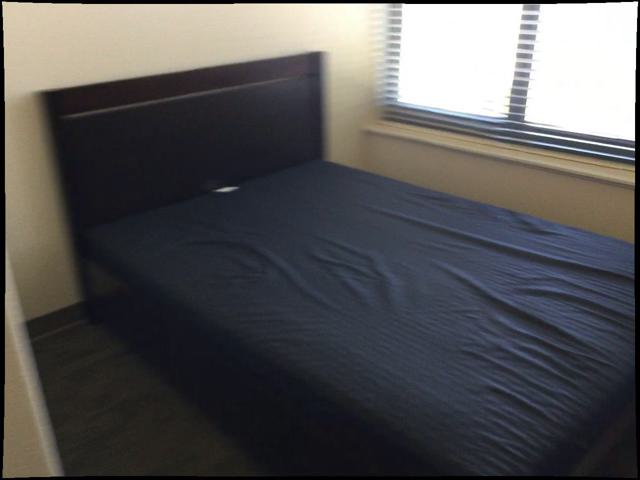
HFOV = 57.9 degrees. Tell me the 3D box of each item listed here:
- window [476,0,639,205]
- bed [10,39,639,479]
[{"bbox_3d":[1.159,-0.701,2.470,0.260,0.931,0.900,-26,34,-37],"label":"window"},{"bbox_3d":[0.120,-0.030,2.080,1.399,1.011,2.129,-26,34,-37],"label":"bed"}]
